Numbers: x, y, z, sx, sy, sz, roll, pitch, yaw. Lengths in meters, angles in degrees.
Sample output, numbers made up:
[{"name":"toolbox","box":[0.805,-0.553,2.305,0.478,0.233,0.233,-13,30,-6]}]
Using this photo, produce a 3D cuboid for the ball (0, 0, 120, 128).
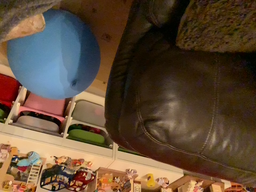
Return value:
[{"name":"ball","box":[-0.370,-0.200,1.140,0.450,0.460,0.490,23,133,-25]}]
